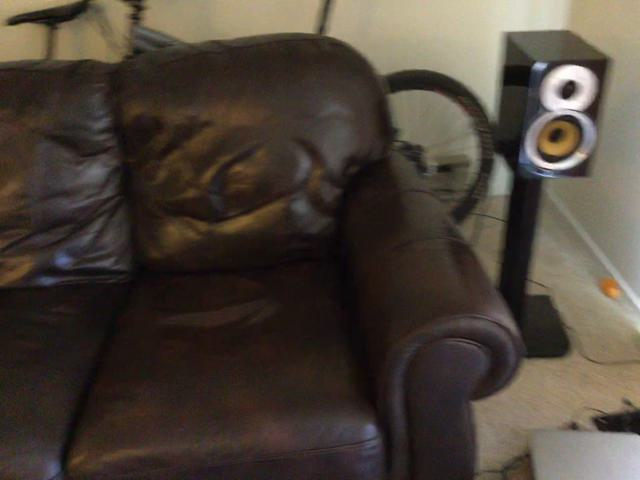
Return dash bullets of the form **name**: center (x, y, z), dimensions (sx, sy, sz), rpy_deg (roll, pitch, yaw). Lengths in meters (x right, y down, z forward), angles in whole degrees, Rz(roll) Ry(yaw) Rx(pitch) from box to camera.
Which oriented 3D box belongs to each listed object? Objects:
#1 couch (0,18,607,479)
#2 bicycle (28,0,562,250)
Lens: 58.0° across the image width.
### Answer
- **couch**: center (-0.740, 0.140, 1.290), dimensions (2.090, 1.070, 0.910), rpy_deg (1, 29, -5)
- **bicycle**: center (-0.080, -0.450, 1.980), dimensions (1.530, 0.900, 0.340), rpy_deg (1, 29, -5)
